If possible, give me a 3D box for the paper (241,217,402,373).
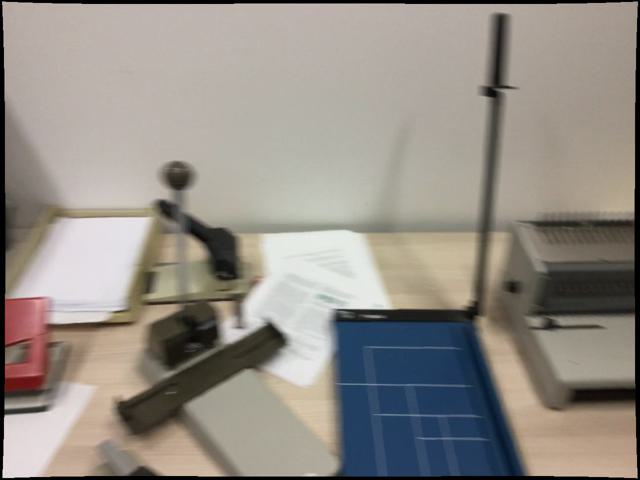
[{"bbox_3d":[-0.020,0.090,1.230,0.280,0.020,0.460,-3,36,-8],"label":"paper"}]
